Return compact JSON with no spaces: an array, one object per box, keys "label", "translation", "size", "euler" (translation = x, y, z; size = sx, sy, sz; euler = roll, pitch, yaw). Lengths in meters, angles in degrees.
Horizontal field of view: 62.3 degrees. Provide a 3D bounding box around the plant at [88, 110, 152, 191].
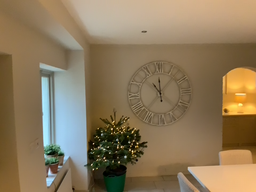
[{"label":"plant","translation":[-0.140,0.930,3.580],"size":[0.940,1.290,0.780],"euler":[-1,3,-4]}]
